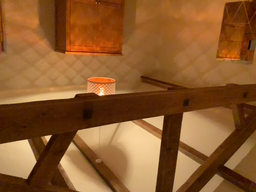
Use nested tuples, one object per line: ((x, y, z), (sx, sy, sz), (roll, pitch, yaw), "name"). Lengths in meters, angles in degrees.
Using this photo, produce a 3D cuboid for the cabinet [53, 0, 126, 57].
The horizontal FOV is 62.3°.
((-0.600, -1.630, 3.350), (0.990, 1.920, 0.580), (-5, -163, -34), "cabinet")
